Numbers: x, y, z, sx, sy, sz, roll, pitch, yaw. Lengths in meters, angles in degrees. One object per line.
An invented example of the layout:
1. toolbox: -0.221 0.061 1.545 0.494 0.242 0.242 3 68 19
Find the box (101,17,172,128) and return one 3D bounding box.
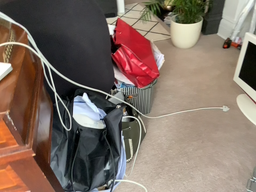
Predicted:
1. box: 0.040 -0.170 1.460 0.300 0.550 0.480 -13 41 -10
